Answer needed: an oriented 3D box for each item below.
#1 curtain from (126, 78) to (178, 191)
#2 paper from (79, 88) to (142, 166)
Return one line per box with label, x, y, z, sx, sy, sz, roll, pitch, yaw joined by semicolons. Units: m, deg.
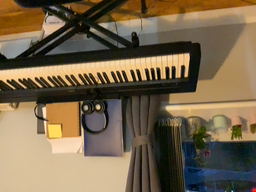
curtain;0.120;0.600;0.960;0.230;1.480;0.190;-4;151;11
paper;-0.110;0.170;1.220;0.230;0.360;0.140;-28;144;2
